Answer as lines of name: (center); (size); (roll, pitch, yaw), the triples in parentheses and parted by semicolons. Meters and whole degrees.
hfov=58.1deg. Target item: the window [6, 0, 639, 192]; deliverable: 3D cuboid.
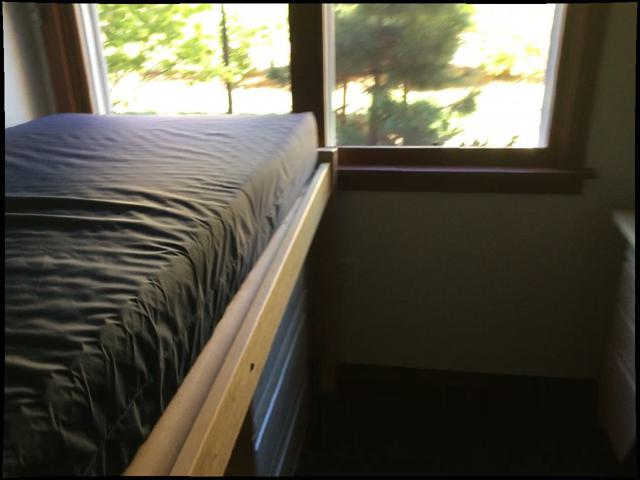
window: (-0.030, -0.672, 1.850); (1.875, 0.972, 0.260); (1, 24, 7)
